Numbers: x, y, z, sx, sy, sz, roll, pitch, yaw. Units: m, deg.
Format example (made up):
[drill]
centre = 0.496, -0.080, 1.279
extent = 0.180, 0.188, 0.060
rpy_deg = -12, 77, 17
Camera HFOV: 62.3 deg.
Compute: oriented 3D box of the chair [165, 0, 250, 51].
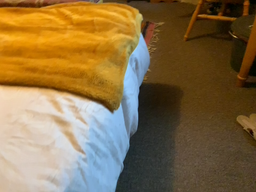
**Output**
[chair]
centre = 0.640, -0.870, 1.610
extent = 0.550, 0.810, 0.500
rpy_deg = 15, 47, 20
